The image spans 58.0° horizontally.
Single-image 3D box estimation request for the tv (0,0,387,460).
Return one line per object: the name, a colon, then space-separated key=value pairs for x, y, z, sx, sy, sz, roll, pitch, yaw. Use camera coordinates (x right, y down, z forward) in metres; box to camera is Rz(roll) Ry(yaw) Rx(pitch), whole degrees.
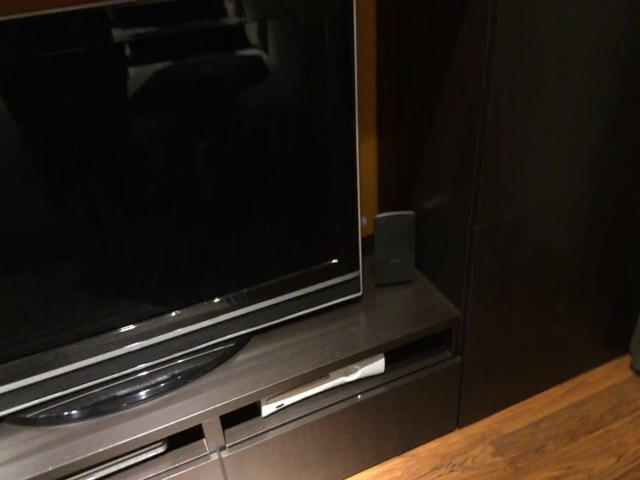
tv: x=-0.390 y=-0.010 z=1.030 sx=1.070 sy=0.740 sz=0.120 roll=-15 pitch=30 yaw=-18
